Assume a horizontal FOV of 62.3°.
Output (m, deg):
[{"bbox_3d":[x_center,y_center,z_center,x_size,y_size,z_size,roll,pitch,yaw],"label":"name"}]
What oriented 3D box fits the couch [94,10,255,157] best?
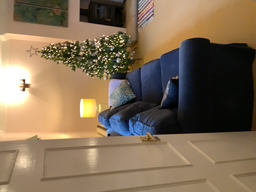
[{"bbox_3d":[0.240,-0.050,2.500,2.180,0.810,0.930,177,95,-69],"label":"couch"}]
